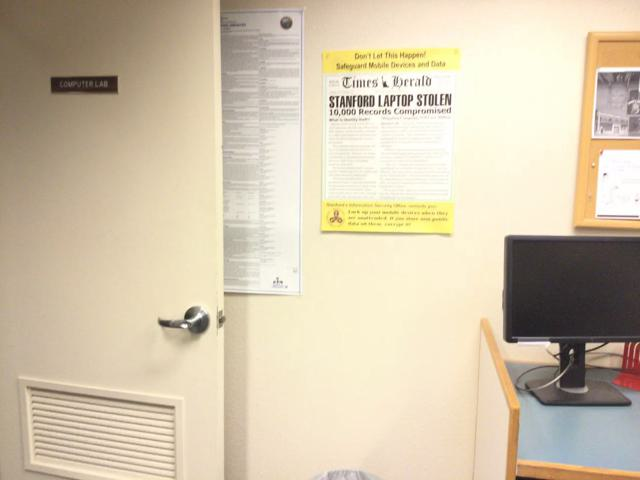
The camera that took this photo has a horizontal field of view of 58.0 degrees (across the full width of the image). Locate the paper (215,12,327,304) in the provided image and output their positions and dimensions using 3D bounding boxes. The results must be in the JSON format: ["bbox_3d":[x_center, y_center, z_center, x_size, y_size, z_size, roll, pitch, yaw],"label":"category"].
[{"bbox_3d":[-0.180,-0.280,2.030,0.350,0.980,0.060,5,8,13],"label":"paper"}]

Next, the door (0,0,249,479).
[{"bbox_3d":[-0.750,0.110,1.960,0.960,2.030,0.140,5,8,13],"label":"door"}]
